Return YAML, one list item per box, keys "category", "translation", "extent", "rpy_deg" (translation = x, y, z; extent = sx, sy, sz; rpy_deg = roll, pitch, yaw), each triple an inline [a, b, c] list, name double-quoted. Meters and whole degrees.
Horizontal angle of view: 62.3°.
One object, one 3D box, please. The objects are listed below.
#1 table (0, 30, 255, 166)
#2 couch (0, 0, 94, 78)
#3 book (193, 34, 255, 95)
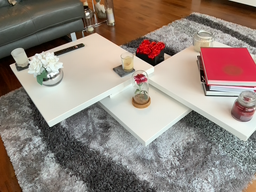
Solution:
- category: "table"
  translation: [0.110, -0.090, 1.440]
  extent: [1.790, 0.290, 0.980]
  rpy_deg: [2, 41, 8]
- category: "couch"
  translation: [-1.230, -0.820, 2.060]
  extent: [1.330, 0.740, 1.040]
  rpy_deg: [-30, 47, -26]
- category: "book"
  translation: [0.550, -0.200, 1.230]
  extent: [0.280, 0.150, 0.400]
  rpy_deg: [3, 42, 9]
